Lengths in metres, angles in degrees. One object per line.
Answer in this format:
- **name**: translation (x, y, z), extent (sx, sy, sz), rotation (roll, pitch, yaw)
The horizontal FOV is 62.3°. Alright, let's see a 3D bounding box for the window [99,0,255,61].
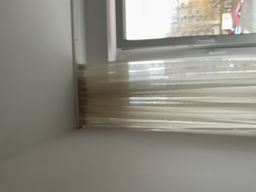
- **window**: translation (0.490, -0.860, 1.690), extent (0.130, 1.480, 1.090), rotation (-32, -59, -75)
